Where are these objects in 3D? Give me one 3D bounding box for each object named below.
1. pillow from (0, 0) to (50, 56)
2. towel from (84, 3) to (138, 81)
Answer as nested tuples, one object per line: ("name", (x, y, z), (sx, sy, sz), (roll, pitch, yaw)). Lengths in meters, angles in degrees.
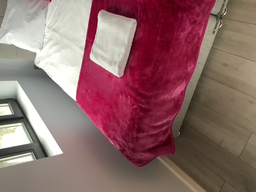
("pillow", (-1.090, -0.770, 2.200), (0.150, 0.480, 0.600), (-122, 42, -61))
("towel", (-0.130, -0.340, 1.320), (0.380, 0.060, 0.370), (39, 122, 41))
